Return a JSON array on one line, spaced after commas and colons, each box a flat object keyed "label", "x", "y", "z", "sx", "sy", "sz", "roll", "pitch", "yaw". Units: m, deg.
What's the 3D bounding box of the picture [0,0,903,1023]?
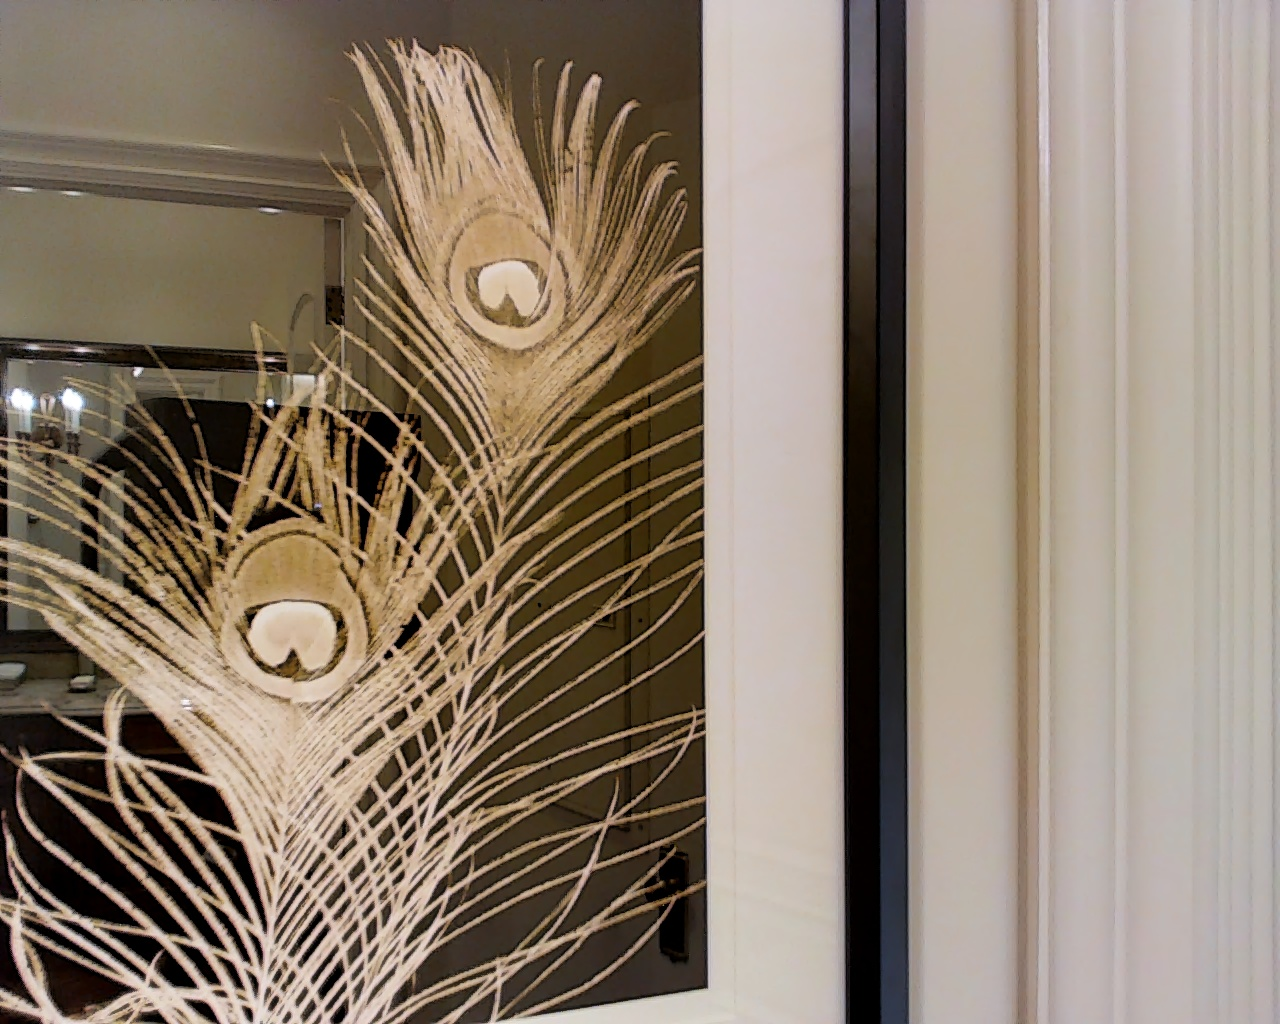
[{"label": "picture", "x": -0.150, "y": -0.020, "z": 0.460, "sx": 0.580, "sy": 0.720, "sz": 0.040, "roll": 0, "pitch": -1, "yaw": -19}]
